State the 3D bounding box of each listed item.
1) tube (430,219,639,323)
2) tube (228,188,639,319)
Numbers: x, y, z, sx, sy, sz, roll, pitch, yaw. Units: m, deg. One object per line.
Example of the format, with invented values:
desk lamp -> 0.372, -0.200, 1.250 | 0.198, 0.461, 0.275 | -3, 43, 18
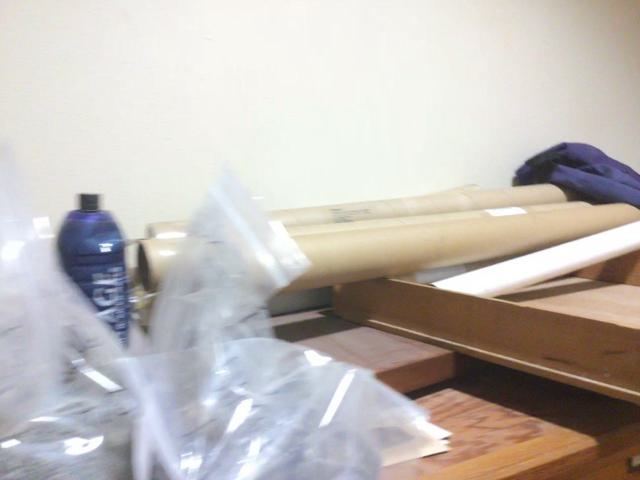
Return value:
tube -> 0.490, 0.040, 1.100 | 0.640, 0.110, 0.080 | -7, 8, -27
tube -> 0.320, -0.010, 1.070 | 1.030, 0.100, 0.080 | -8, 9, -34
